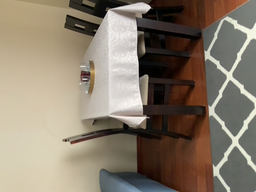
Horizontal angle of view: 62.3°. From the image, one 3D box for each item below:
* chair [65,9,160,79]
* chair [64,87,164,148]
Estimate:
[{"bbox_3d":[-0.180,-0.510,2.320,0.440,0.940,0.530,166,105,-68],"label":"chair"},{"bbox_3d":[-0.160,0.230,2.210,0.440,0.940,0.530,156,114,-67],"label":"chair"}]
